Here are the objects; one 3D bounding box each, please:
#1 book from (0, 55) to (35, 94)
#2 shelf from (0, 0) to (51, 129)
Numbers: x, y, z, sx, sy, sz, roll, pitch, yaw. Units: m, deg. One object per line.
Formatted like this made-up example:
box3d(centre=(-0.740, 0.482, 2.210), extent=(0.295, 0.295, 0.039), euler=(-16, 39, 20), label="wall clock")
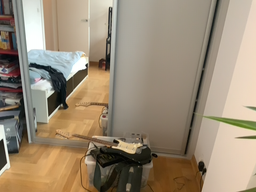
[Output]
box3d(centre=(-1.350, -0.260, 2.490), extent=(0.320, 0.350, 0.340), euler=(6, 22, 2), label="book")
box3d(centre=(-1.460, -0.950, 2.280), extent=(0.980, 2.670, 0.380), euler=(6, 22, 2), label="shelf")
